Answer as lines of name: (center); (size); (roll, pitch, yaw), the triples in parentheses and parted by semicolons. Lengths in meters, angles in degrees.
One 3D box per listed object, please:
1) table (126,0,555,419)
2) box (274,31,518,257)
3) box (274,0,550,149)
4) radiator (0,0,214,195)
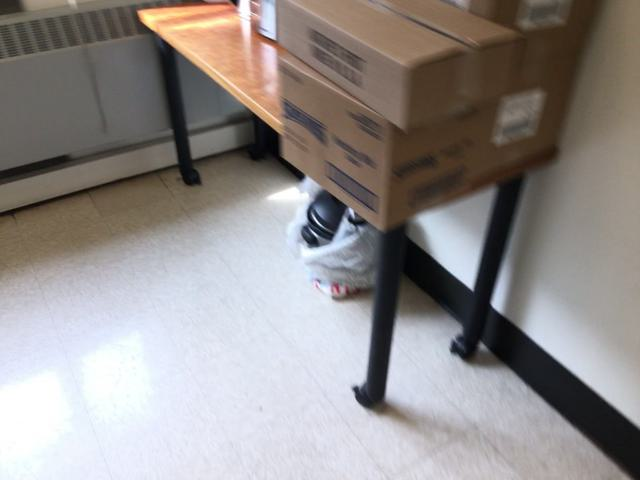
table: (-0.090, -0.280, 1.930); (0.520, 0.770, 1.470); (-20, 41, -28)
box: (0.130, -0.220, 1.190); (0.300, 0.280, 0.370); (-20, 41, -28)
box: (0.140, -0.360, 1.070); (0.270, 0.170, 0.430); (-20, 41, -28)
radiator: (-1.540, -0.380, 1.840); (2.440, 0.640, 0.270); (-20, 41, -27)
